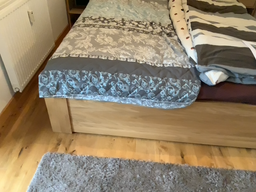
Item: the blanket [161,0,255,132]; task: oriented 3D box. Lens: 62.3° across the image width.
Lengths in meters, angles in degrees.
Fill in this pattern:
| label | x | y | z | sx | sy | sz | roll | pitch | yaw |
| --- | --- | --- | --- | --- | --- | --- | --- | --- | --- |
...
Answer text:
| label | x | y | z | sx | sy | sz | roll | pitch | yaw |
| --- | --- | --- | --- | --- | --- | --- | --- | --- | --- |
| blanket | 0.750 | -0.590 | 1.890 | 0.780 | 0.400 | 2.000 | 6 | 40 | 1 |
